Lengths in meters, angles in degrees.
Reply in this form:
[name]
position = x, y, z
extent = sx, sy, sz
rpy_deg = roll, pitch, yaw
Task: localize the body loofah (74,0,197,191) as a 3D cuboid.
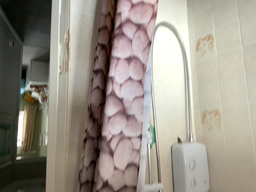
[body loofah]
position = 0.010, -0.140, 0.920
extent = 0.370, 1.610, 0.320
rpy_deg = 5, 169, -32
